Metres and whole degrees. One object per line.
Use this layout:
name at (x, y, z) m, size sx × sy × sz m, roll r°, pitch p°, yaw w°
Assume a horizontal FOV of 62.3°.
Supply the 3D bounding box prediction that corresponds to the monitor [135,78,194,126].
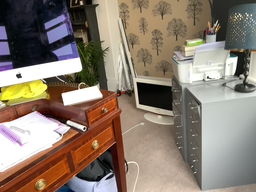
monitor at (0.380, 0.050, 2.290) m, size 0.670 × 0.430 × 0.050 m, roll 10°, pitch 28°, yaw 38°

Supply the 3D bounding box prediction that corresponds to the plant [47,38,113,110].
plant at (-0.650, -0.340, 2.980) m, size 0.600 × 0.840 × 0.500 m, roll 11°, pitch 29°, yaw 36°
